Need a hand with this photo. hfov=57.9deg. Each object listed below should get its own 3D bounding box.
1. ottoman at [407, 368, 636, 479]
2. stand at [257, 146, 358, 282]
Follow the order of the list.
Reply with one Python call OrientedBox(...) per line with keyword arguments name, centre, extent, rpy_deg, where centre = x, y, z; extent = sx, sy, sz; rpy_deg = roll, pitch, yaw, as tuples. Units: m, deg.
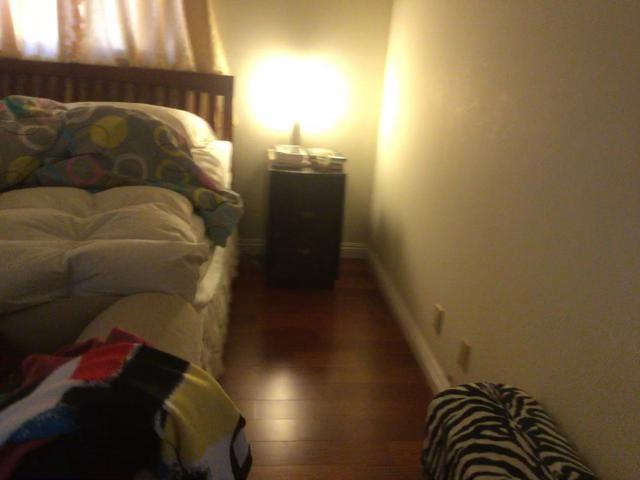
OrientedBox(name="ottoman", centre=(0.460, 0.650, 1.350), extent=(0.320, 0.420, 0.610), rpy_deg=(5, 17, -8))
OrientedBox(name="stand", centre=(-0.090, -0.150, 3.140), extent=(0.410, 0.580, 0.410), rpy_deg=(10, 19, -10))
